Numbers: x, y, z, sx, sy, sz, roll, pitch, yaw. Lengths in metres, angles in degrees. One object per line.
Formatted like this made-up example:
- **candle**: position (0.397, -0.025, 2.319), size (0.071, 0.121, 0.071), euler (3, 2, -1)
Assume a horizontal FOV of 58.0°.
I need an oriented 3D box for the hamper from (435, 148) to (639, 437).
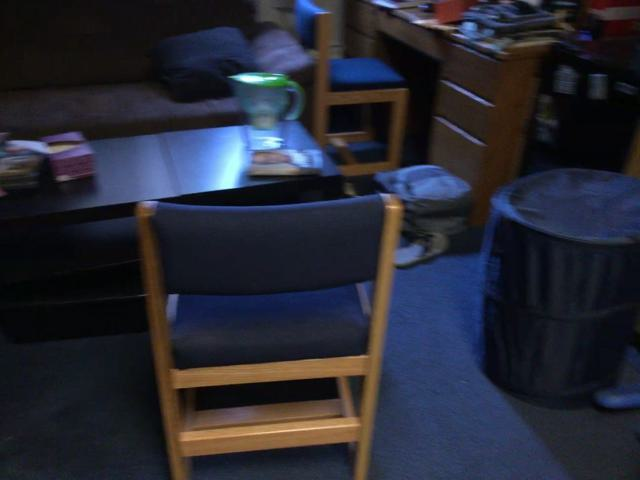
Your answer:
- **hamper**: position (0.710, 0.120, 1.690), size (0.500, 0.590, 0.500), euler (-9, 30, -17)
